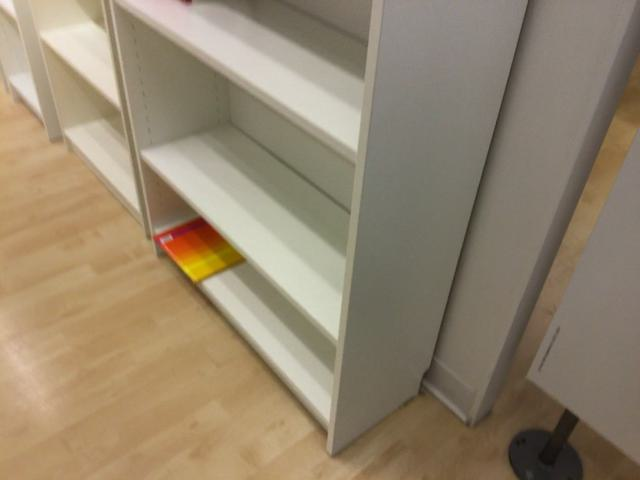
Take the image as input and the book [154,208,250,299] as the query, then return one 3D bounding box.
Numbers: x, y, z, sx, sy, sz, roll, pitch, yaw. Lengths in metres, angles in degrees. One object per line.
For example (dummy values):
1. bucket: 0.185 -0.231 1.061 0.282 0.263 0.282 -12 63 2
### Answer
1. book: -0.320 0.030 1.560 0.140 0.070 0.250 -27 50 -29
